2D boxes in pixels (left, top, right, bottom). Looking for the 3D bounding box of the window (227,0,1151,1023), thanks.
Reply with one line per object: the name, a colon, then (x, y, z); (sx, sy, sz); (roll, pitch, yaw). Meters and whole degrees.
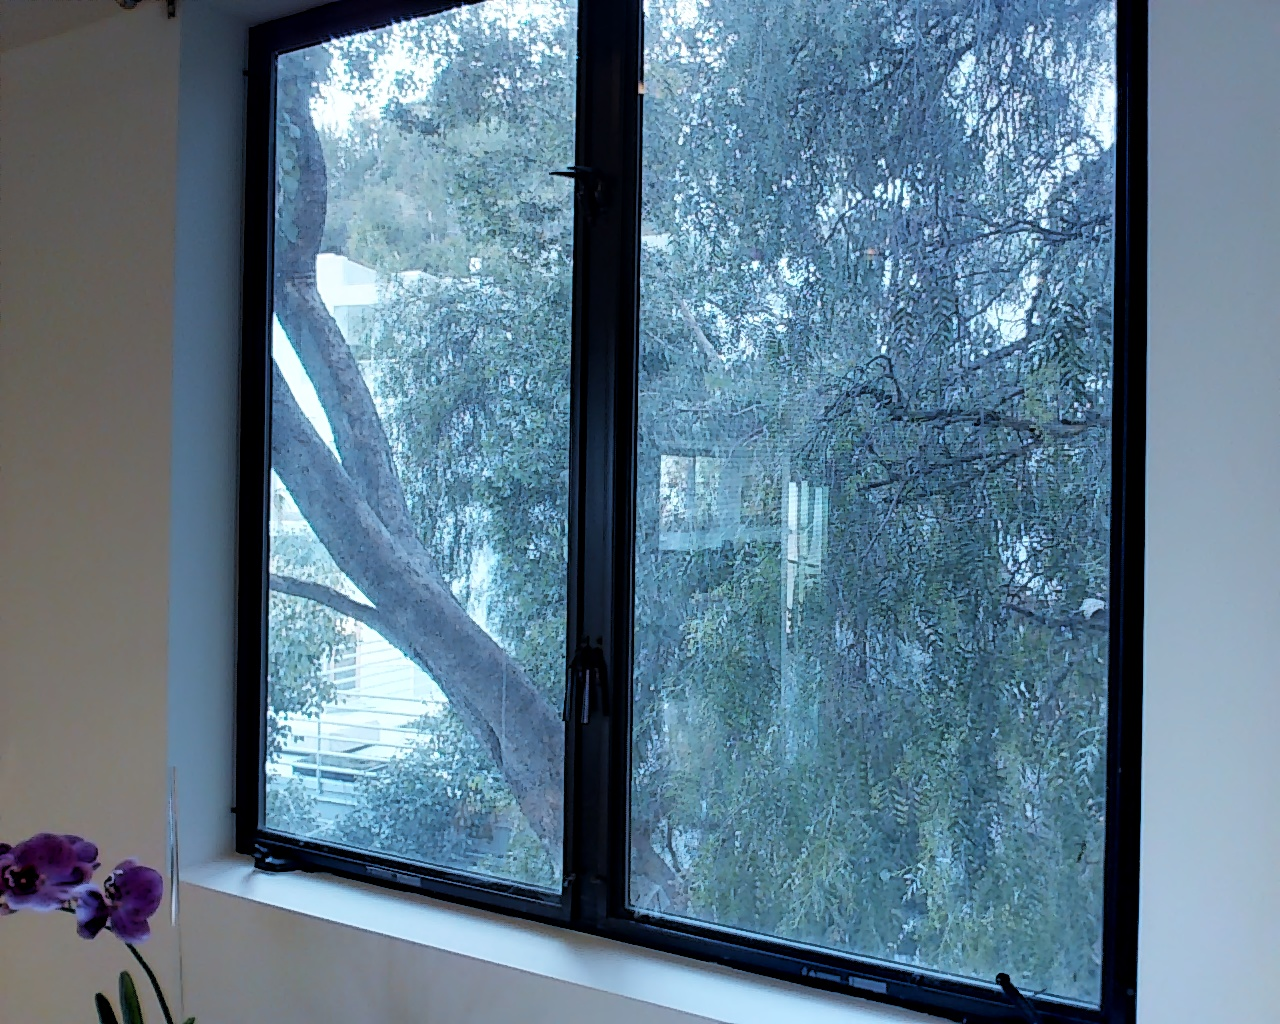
window: (-0.060, -0.110, 1.580); (1.450, 1.470, 0.090); (1, 0, 29)
